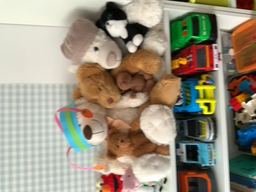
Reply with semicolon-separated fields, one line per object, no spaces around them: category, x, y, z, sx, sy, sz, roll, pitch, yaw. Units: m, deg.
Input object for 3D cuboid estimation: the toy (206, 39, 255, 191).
toy;0.620;0.090;1.060;0.300;0.280;0.640;165;104;-73
